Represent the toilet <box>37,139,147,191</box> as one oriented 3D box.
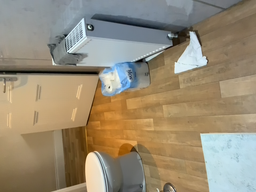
[{"bbox_3d":[-0.280,0.770,1.790,0.380,0.800,0.660,-12,83,55],"label":"toilet"}]
